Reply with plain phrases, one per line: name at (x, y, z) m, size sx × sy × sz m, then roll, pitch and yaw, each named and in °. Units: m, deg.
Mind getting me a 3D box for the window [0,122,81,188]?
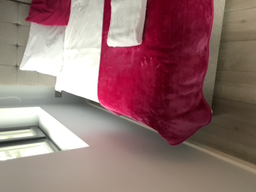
window at (-1.200, 0.480, 1.910) m, size 1.210 × 1.130 × 0.080 m, roll 15°, pitch 103°, yaw 53°
